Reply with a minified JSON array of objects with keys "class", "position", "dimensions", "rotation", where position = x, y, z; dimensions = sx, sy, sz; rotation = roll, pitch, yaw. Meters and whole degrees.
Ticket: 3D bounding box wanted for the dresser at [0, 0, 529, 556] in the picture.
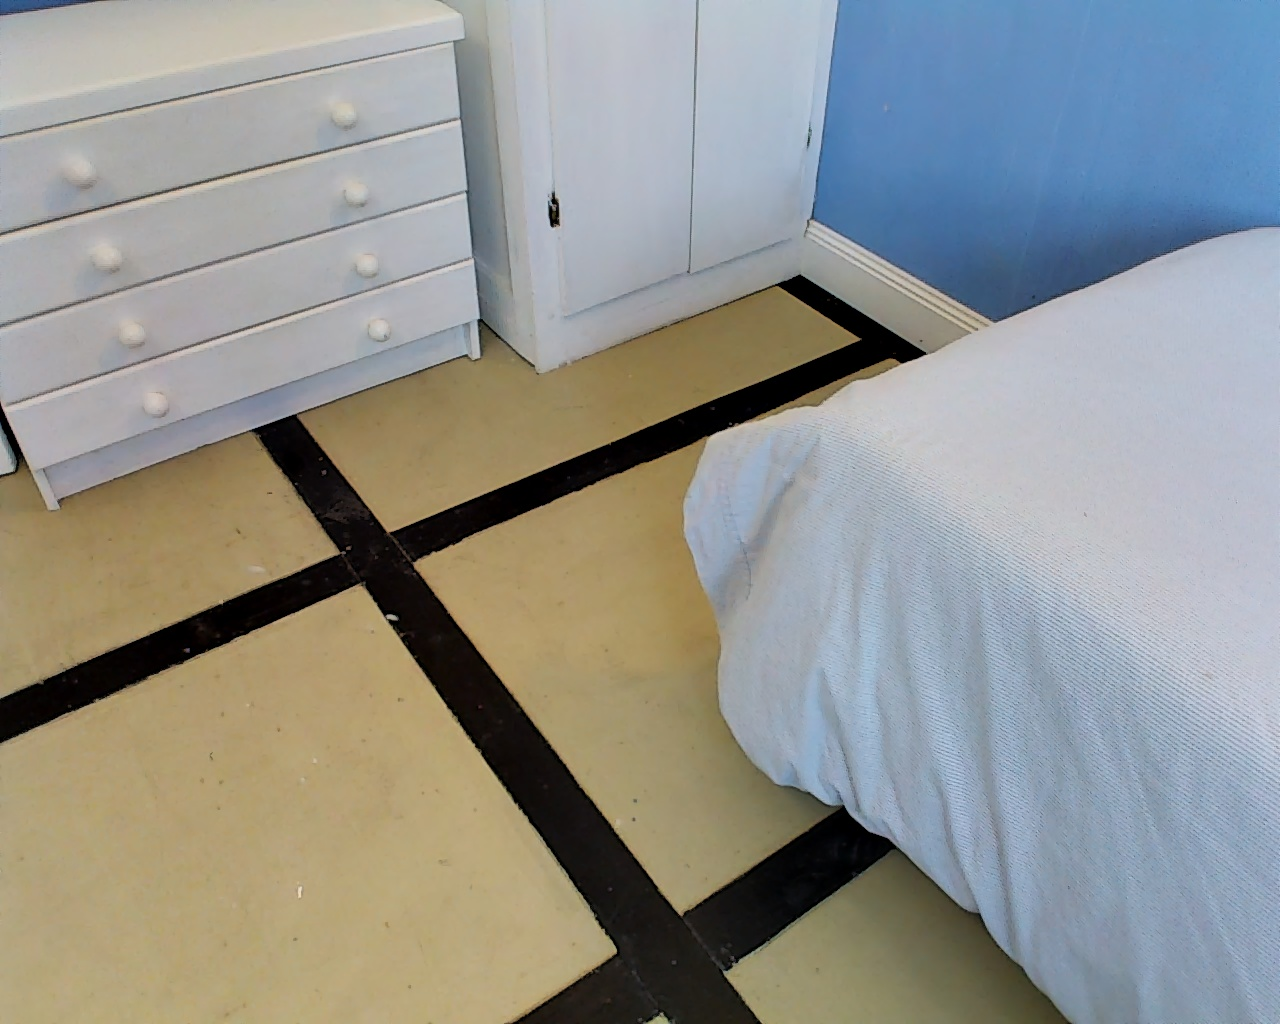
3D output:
[{"class":"dresser","position":[-0.790,-0.520,2.000],"dimensions":[0.980,0.720,0.530],"rotation":[-24,46,-25]}]
